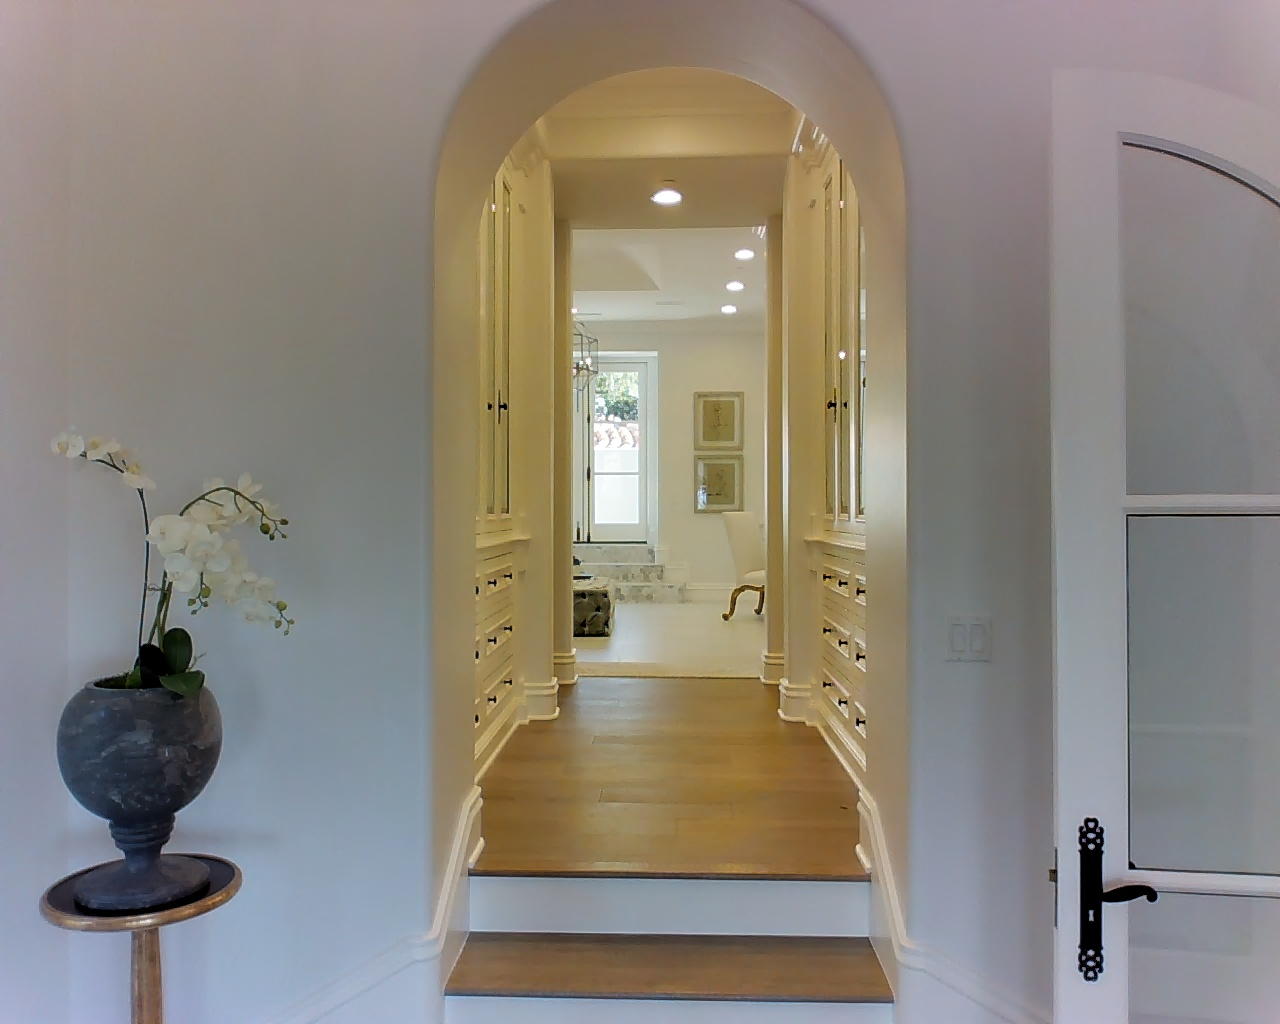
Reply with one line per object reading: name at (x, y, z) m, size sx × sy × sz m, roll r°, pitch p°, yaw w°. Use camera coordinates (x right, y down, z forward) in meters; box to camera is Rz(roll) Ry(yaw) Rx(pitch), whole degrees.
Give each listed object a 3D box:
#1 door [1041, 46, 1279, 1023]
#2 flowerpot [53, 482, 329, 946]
door at (1.200, 0.390, 1.990) m, size 0.820 × 2.461 × 0.140 m, roll 0°, pitch -1°, yaw 11°
flowerpot at (-0.960, 0.390, 2.310) m, size 0.440 × 0.890 × 0.340 m, roll -1°, pitch -1°, yaw 25°
